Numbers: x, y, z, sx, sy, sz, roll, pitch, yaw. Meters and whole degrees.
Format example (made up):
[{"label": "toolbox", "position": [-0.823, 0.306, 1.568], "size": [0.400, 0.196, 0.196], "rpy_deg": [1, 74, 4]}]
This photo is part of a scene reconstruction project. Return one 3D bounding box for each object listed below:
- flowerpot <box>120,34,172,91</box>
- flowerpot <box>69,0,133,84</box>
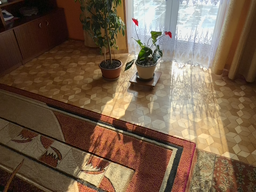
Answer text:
[{"label": "flowerpot", "position": [0.200, -0.400, 2.470], "size": [0.440, 0.440, 0.380], "rpy_deg": [26, 44, 30]}, {"label": "flowerpot", "position": [-0.270, -0.850, 2.390], "size": [0.460, 1.280, 0.510], "rpy_deg": [19, 41, 24]}]
